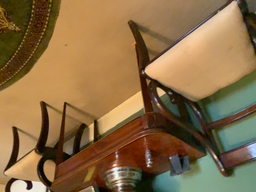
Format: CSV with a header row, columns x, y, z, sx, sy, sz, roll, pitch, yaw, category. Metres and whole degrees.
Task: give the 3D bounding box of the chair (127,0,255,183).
x,y,z,sx,sy,sz,roll,pitch,yaw,category
0.410,-0.140,1.050,0.550,0.870,0.510,30,127,-36,chair
